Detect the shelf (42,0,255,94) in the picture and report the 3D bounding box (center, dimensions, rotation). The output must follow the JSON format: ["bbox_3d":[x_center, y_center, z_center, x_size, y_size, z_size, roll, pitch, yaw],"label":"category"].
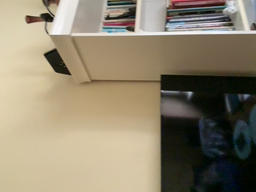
[{"bbox_3d":[0.780,-0.560,1.160,0.400,2.160,1.040,79,-166,-61],"label":"shelf"}]
